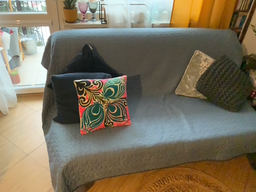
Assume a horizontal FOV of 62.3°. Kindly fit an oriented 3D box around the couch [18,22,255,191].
[{"bbox_3d":[0.260,-0.010,1.800,1.820,0.870,1.100,-5,37,-12],"label":"couch"}]
